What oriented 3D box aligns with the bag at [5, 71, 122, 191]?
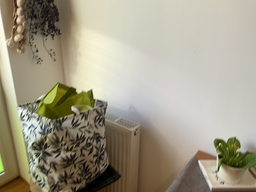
[{"bbox_3d":[-0.330,0.190,1.180,0.410,0.520,0.420,18,27,37],"label":"bag"}]
